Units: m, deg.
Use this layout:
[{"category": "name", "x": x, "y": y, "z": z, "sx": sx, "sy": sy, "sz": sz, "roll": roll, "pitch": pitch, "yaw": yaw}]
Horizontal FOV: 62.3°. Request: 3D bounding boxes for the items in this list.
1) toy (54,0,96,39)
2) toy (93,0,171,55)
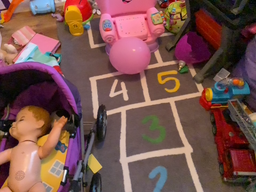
[{"category": "toy", "x": -0.380, "y": -0.610, "z": 1.510, "sx": 0.240, "sy": 0.180, "sz": 0.340, "roll": -9, "pitch": 60, "yaw": -6}, {"category": "toy", "x": -0.010, "y": -0.620, "z": 1.390, "sx": 0.420, "sy": 0.450, "sz": 0.440, "roll": -10, "pitch": 60, "yaw": -6}]
